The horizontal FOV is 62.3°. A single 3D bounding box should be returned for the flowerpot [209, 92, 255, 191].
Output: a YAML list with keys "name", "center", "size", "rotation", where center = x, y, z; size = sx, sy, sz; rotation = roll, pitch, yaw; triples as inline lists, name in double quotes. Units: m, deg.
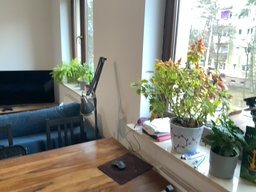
- name: "flowerpot"
  center: [0.650, 0.230, 1.080]
  size: [0.320, 0.450, 0.230]
  rotation: [-4, 15, -24]

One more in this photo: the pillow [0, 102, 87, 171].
- name: "pillow"
  center: [-0.840, 0.360, 2.100]
  size: [0.820, 0.480, 0.240]
  rotation: [-6, 16, -31]
